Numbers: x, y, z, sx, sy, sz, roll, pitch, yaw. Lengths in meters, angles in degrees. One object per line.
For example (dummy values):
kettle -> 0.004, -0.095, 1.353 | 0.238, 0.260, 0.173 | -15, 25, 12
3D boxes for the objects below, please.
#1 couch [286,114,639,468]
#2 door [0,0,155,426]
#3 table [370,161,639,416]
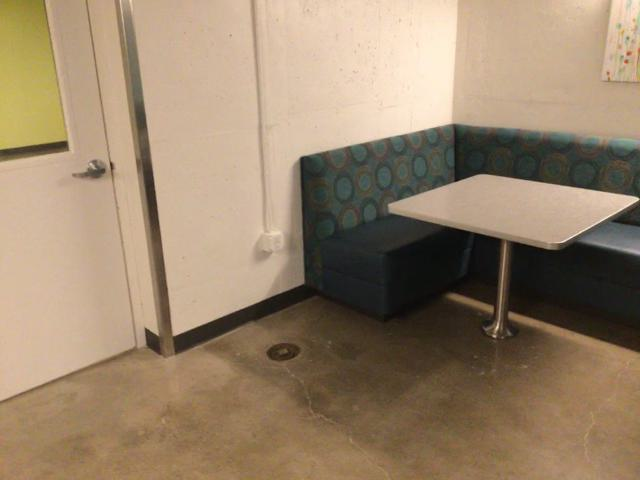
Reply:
couch -> 1.460, 0.120, 2.540 | 1.420, 0.930, 3.250 | -21, 26, -37
door -> -1.230, -0.110, 2.370 | 0.910, 1.740, 0.120 | -17, 24, -38
table -> 0.930, 0.130, 2.850 | 0.960, 0.750, 0.920 | -21, 26, -37
